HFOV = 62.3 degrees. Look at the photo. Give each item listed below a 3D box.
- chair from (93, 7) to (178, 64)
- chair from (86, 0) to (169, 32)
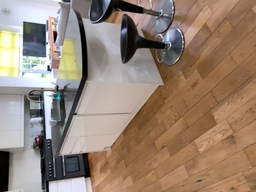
[{"bbox_3d":[0.080,-0.560,2.120,0.370,0.770,0.360,-4,86,62],"label":"chair"},{"bbox_3d":[0.000,-0.970,2.270,0.390,0.770,0.410,22,108,61],"label":"chair"}]
